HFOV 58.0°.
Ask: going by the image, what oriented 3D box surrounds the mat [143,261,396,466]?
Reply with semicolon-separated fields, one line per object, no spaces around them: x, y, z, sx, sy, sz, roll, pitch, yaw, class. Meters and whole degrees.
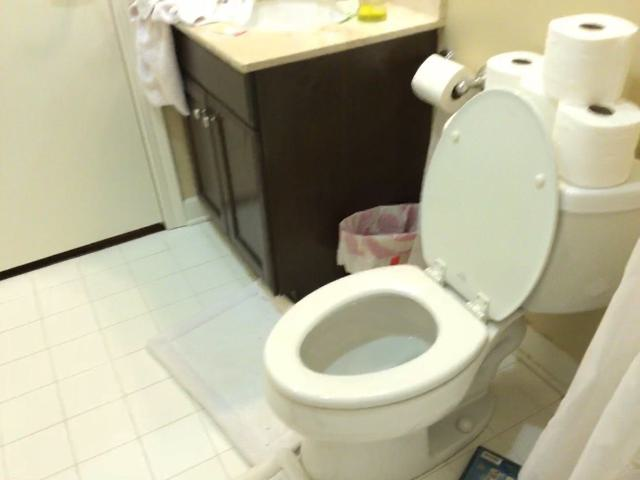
-0.150;0.300;1.640;0.480;0.080;0.540;-27;40;-32;mat
